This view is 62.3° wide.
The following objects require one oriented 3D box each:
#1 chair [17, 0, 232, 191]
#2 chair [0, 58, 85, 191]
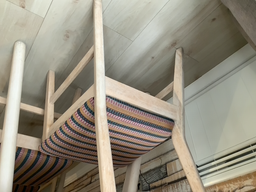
[{"bbox_3d":[-0.050,0.170,0.870,0.550,0.860,0.530,21,136,-30],"label":"chair"},{"bbox_3d":[-0.610,0.340,1.060,0.560,0.840,0.520,20,137,-29],"label":"chair"}]
